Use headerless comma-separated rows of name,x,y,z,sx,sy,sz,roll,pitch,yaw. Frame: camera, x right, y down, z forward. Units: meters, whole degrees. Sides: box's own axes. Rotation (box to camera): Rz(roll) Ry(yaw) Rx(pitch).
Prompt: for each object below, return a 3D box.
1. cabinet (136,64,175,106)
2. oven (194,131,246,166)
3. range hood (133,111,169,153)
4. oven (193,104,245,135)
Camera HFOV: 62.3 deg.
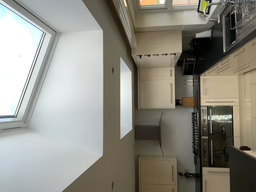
cabinet,0.610,-0.230,4.730,0.350,0.810,0.890,10,-101,-83
oven,1.870,1.060,4.420,0.600,0.840,0.590,10,-101,-83
range hood,0.510,0.790,4.770,0.570,0.750,0.860,23,-114,-82
oven,1.860,0.470,4.440,0.600,0.840,0.580,10,-101,-83
